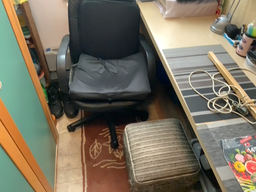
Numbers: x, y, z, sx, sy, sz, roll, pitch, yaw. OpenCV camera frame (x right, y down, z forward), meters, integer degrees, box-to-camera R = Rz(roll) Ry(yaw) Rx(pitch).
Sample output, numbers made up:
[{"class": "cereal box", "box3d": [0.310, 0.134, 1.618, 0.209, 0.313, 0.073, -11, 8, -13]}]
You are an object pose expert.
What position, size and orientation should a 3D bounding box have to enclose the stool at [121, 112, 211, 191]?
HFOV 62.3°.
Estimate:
[{"class": "stool", "box3d": [0.180, 0.380, 1.280, 0.390, 0.380, 0.370, -6, 48, -8]}]
